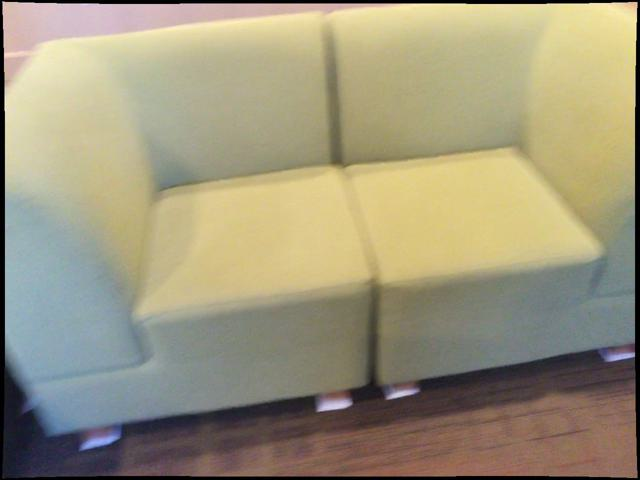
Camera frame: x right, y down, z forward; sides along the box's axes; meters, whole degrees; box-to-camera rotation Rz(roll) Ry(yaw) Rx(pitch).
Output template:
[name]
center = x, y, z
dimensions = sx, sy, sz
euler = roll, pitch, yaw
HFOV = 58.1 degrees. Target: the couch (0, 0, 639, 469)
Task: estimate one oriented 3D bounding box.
[couch]
center = 0.060, -0.100, 1.560
dimensions = 1.636, 0.791, 0.791
euler = -9, 39, -4
